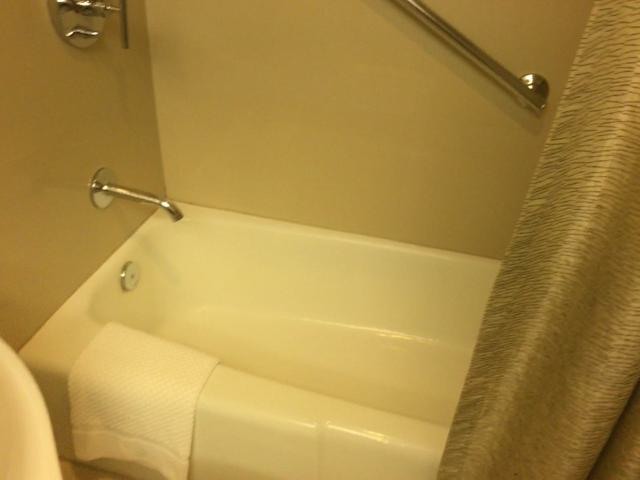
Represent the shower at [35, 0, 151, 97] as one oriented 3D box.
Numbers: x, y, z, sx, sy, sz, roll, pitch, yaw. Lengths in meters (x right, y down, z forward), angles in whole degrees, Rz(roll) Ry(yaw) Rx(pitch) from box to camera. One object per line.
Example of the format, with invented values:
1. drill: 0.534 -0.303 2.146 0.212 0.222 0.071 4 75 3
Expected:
1. shower: -0.510 -0.500 1.330 0.090 0.250 0.290 10 32 9
